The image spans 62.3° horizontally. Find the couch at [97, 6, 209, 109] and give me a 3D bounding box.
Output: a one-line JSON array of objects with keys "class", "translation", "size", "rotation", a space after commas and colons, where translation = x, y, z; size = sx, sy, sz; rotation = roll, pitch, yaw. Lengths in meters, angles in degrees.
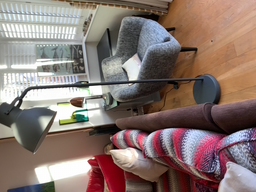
[{"class": "couch", "translation": [0.190, -0.450, 2.390], "size": [0.810, 0.820, 0.770], "rotation": [-119, 33, -44]}]

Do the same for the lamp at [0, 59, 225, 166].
[{"class": "lamp", "translation": [-0.070, 0.060, 1.710], "size": [0.340, 1.790, 0.600], "rotation": [157, 107, -66]}]
